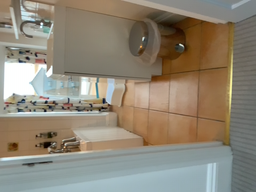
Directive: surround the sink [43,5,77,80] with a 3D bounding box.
[{"bbox_3d":[-0.560,-0.370,1.690,0.610,0.160,0.450,3,91,64],"label":"sink"}]
